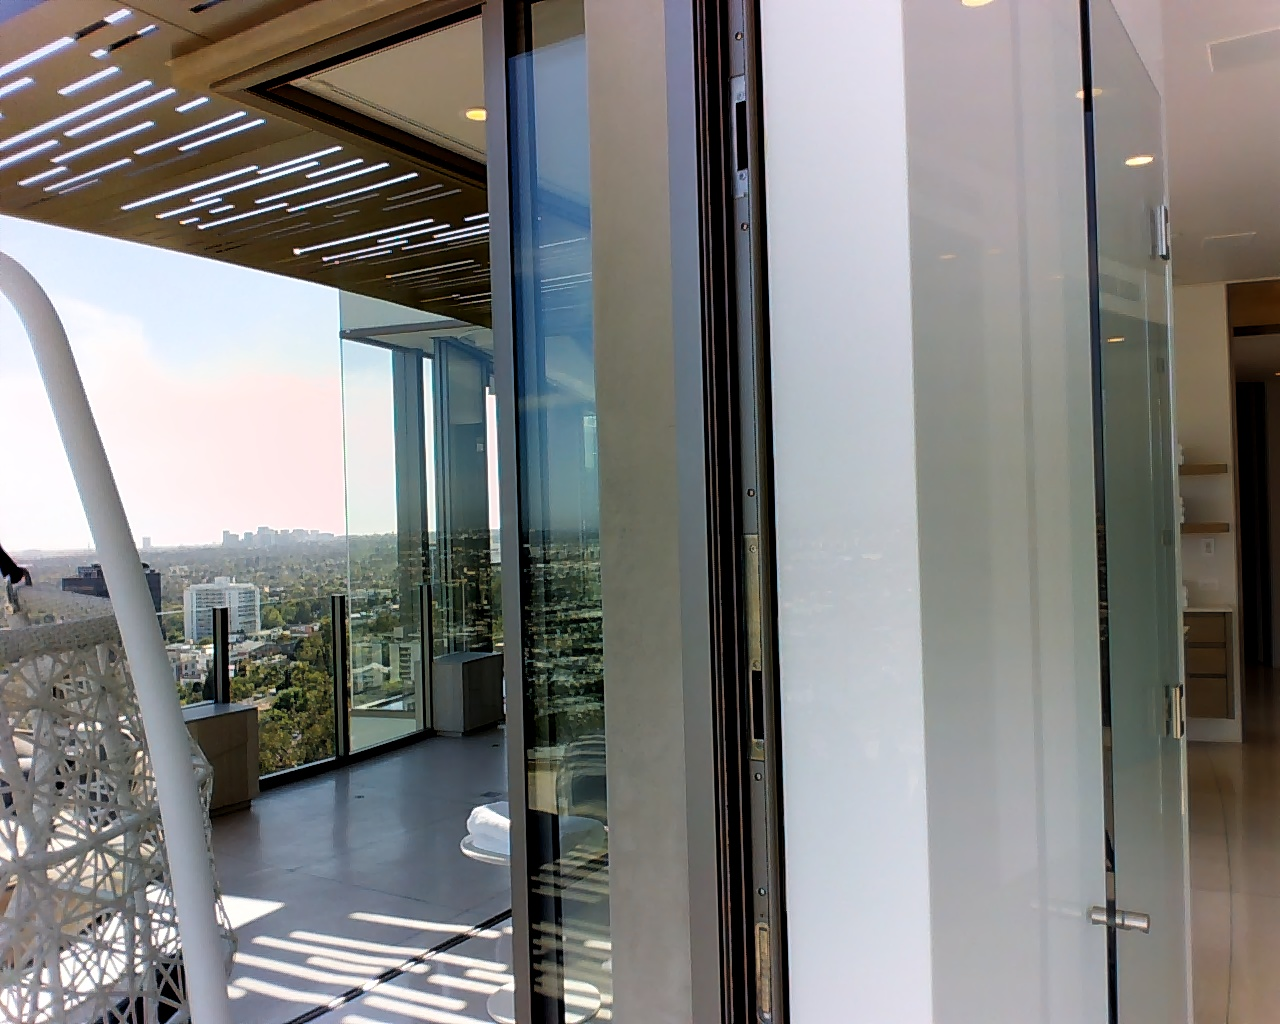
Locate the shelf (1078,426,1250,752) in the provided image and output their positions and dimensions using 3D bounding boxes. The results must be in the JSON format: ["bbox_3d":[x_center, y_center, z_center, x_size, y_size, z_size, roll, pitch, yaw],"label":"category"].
[{"bbox_3d":[3.260,0.470,6.740,0.890,1.940,0.370,-2,0,23],"label":"shelf"}]
